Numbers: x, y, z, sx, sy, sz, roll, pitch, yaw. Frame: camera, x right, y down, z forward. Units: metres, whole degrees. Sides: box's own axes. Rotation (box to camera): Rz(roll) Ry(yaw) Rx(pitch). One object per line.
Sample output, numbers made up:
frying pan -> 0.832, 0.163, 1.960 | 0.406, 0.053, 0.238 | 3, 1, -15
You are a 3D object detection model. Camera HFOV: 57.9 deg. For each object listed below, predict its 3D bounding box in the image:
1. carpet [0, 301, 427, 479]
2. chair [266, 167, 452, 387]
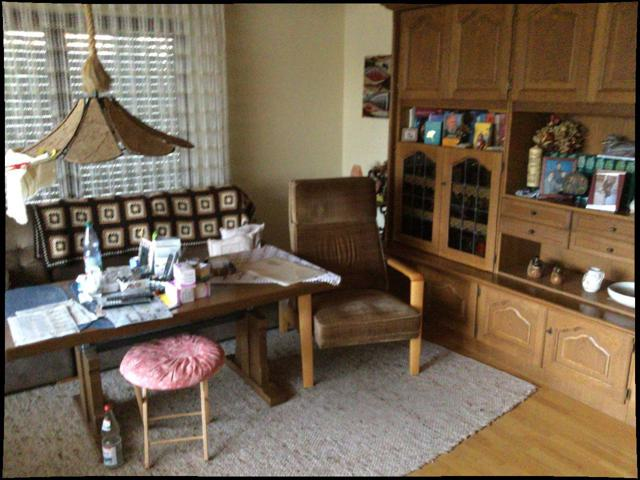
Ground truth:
carpet -> -1.059, 0.881, 2.560 | 2.029, 0.110, 2.229 | -13, 20, -38
chair -> 0.160, 0.150, 3.360 | 0.869, 1.001, 0.880 | -2, 16, -8
